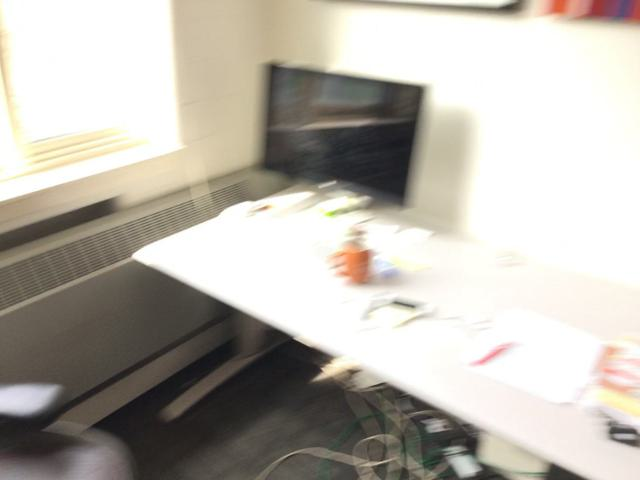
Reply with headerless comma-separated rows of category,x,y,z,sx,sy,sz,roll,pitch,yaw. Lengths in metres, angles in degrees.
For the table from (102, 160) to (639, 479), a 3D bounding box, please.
table,0.250,0.400,1.710,1.580,0.790,0.870,20,31,34
